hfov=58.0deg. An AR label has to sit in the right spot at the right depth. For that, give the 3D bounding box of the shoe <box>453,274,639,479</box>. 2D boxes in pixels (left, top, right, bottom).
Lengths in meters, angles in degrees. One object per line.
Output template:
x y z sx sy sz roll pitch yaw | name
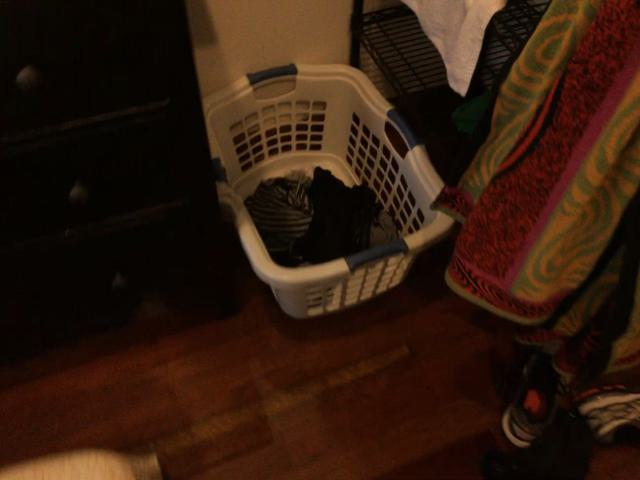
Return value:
0.590 0.310 1.270 0.470 0.130 0.320 -18 55 -14 | shoe

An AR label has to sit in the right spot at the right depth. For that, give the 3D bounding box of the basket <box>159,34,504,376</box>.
-0.010 -0.120 1.440 0.560 0.360 0.650 -18 55 -14 | basket
